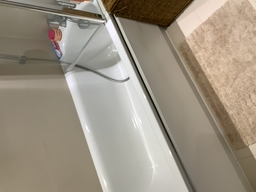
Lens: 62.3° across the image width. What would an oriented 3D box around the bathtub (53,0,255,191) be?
[{"bbox_3d":[0.060,0.060,1.510,0.690,0.530,1.660,-40,65,42],"label":"bathtub"}]
